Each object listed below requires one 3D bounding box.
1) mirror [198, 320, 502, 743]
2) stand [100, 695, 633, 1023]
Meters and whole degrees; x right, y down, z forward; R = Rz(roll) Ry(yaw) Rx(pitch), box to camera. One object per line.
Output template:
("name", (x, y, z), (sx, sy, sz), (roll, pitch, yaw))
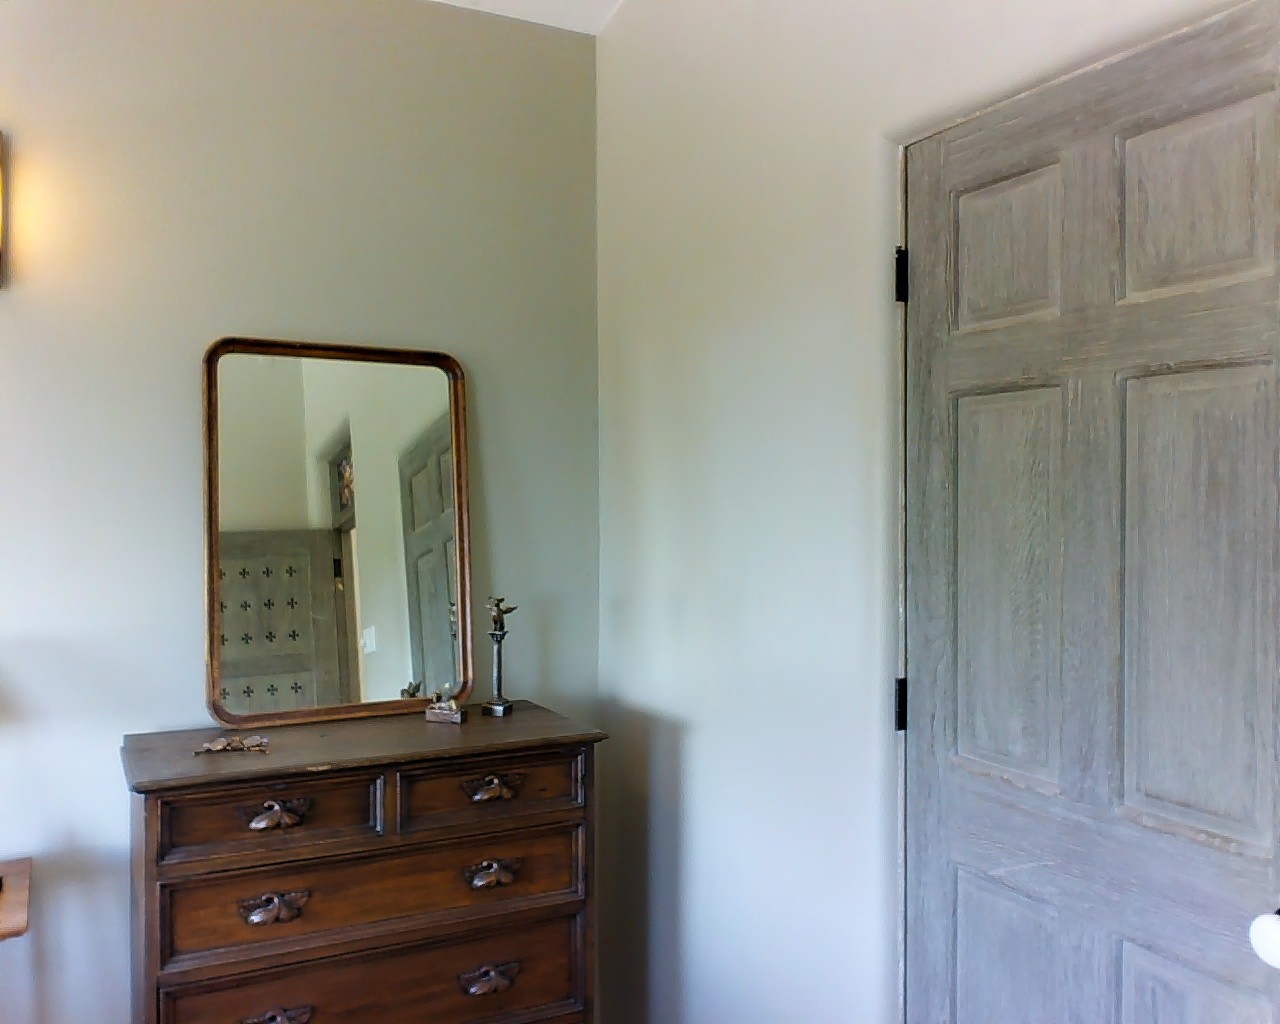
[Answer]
("mirror", (-0.650, 0.040, 2.460), (0.660, 0.890, 0.090), (0, -2, -29))
("stand", (-0.580, 0.940, 2.270), (0.980, 0.940, 0.560), (0, 0, -29))
